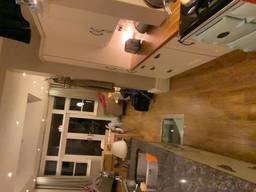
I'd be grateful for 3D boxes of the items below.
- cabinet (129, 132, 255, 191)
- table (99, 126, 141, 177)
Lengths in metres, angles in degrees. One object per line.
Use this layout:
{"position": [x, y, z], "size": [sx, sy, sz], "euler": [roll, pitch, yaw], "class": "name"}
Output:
{"position": [0.730, 0.870, 1.950], "size": [2.150, 0.860, 0.710], "euler": [173, 104, -76], "class": "cabinet"}
{"position": [-0.300, 1.470, 6.000], "size": [1.720, 0.730, 1.000], "euler": [173, 104, -76], "class": "table"}
